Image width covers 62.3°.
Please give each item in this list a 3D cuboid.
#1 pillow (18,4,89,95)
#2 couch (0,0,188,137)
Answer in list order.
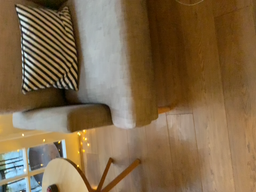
[{"bbox_3d":[-0.440,-0.270,1.260,0.130,0.310,0.480,-16,84,60],"label":"pillow"},{"bbox_3d":[-0.360,-0.320,1.390,1.060,0.800,1.000,-12,85,41],"label":"couch"}]
